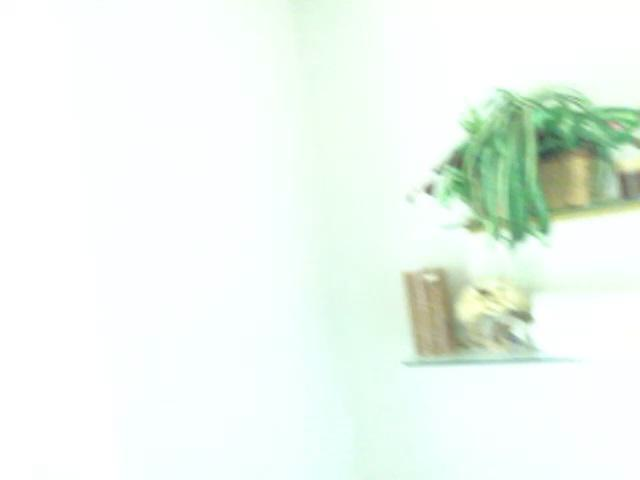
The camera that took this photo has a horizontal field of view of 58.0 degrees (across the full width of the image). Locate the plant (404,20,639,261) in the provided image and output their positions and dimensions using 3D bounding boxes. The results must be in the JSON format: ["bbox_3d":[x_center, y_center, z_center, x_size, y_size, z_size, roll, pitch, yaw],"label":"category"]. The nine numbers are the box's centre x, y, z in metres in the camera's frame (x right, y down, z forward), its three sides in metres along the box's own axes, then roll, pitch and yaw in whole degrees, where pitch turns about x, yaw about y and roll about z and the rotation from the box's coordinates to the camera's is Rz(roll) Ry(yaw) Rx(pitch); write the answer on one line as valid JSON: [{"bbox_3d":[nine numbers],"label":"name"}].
[{"bbox_3d":[0.460,-0.170,1.200,0.440,0.350,0.320,-11,-4,24],"label":"plant"}]
